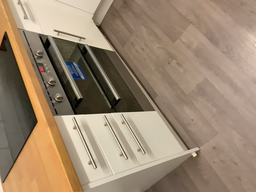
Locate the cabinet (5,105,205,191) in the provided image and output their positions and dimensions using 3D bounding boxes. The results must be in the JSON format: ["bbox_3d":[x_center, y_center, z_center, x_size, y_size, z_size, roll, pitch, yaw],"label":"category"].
[{"bbox_3d":[-0.090,0.400,1.210,0.660,0.880,0.330,-51,57,29],"label":"cabinet"}]

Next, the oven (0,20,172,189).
[{"bbox_3d":[-0.320,0.060,1.440,0.660,0.880,0.600,-51,57,29],"label":"oven"}]
